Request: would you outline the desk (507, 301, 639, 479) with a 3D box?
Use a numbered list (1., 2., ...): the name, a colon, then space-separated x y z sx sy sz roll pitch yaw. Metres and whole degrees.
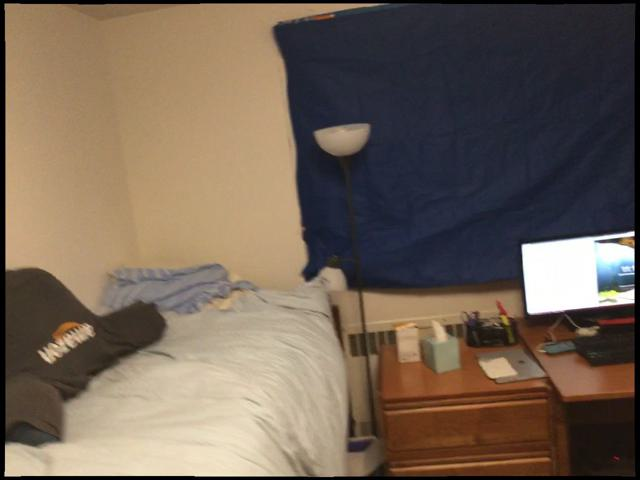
1. desk: 1.607 0.812 2.590 1.257 0.802 0.990 -4 12 5
